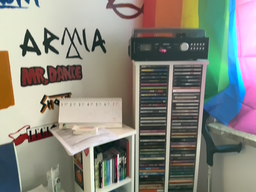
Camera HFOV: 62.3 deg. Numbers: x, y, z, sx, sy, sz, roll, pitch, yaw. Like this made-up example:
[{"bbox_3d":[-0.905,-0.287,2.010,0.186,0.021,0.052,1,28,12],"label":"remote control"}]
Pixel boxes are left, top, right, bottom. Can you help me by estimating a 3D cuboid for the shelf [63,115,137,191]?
[{"bbox_3d":[-0.150,0.630,1.130,0.240,0.990,0.280,-9,16,-36],"label":"shelf"}]
